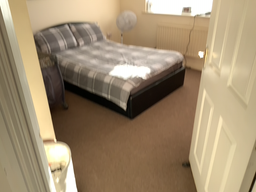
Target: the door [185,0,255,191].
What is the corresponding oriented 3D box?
[{"bbox_3d":[0.510,-0.070,1.140,0.050,1.980,0.890,1,28,4],"label":"door"}]
